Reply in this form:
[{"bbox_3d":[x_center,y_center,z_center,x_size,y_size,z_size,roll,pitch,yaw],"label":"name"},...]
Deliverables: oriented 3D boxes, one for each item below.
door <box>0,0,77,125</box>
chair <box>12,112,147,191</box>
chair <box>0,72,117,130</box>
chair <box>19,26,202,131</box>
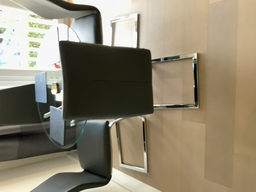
[{"bbox_3d":[-1.550,-0.620,2.360,0.070,2.090,1.920,4,96,48],"label":"door"},{"bbox_3d":[-0.340,0.500,1.750,0.420,0.990,0.610,3,95,48],"label":"chair"},{"bbox_3d":[-0.670,0.040,2.090,0.470,0.990,0.420,-14,83,48],"label":"chair"},{"bbox_3d":[-0.060,-0.080,1.380,0.580,1.020,0.410,-4,90,48],"label":"chair"}]
